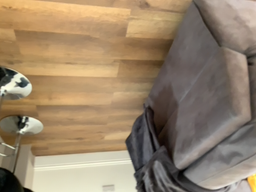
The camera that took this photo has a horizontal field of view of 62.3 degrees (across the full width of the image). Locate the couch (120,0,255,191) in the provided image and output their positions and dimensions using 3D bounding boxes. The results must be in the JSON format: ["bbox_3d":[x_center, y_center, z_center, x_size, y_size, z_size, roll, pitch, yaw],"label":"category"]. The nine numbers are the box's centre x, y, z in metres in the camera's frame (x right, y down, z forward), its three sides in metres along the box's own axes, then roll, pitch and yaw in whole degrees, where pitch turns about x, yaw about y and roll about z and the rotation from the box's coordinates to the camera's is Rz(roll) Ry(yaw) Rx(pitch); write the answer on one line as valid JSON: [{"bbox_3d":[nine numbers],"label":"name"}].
[{"bbox_3d":[0.620,0.040,1.270,1.090,0.940,1.010,0,143,-13],"label":"couch"}]
